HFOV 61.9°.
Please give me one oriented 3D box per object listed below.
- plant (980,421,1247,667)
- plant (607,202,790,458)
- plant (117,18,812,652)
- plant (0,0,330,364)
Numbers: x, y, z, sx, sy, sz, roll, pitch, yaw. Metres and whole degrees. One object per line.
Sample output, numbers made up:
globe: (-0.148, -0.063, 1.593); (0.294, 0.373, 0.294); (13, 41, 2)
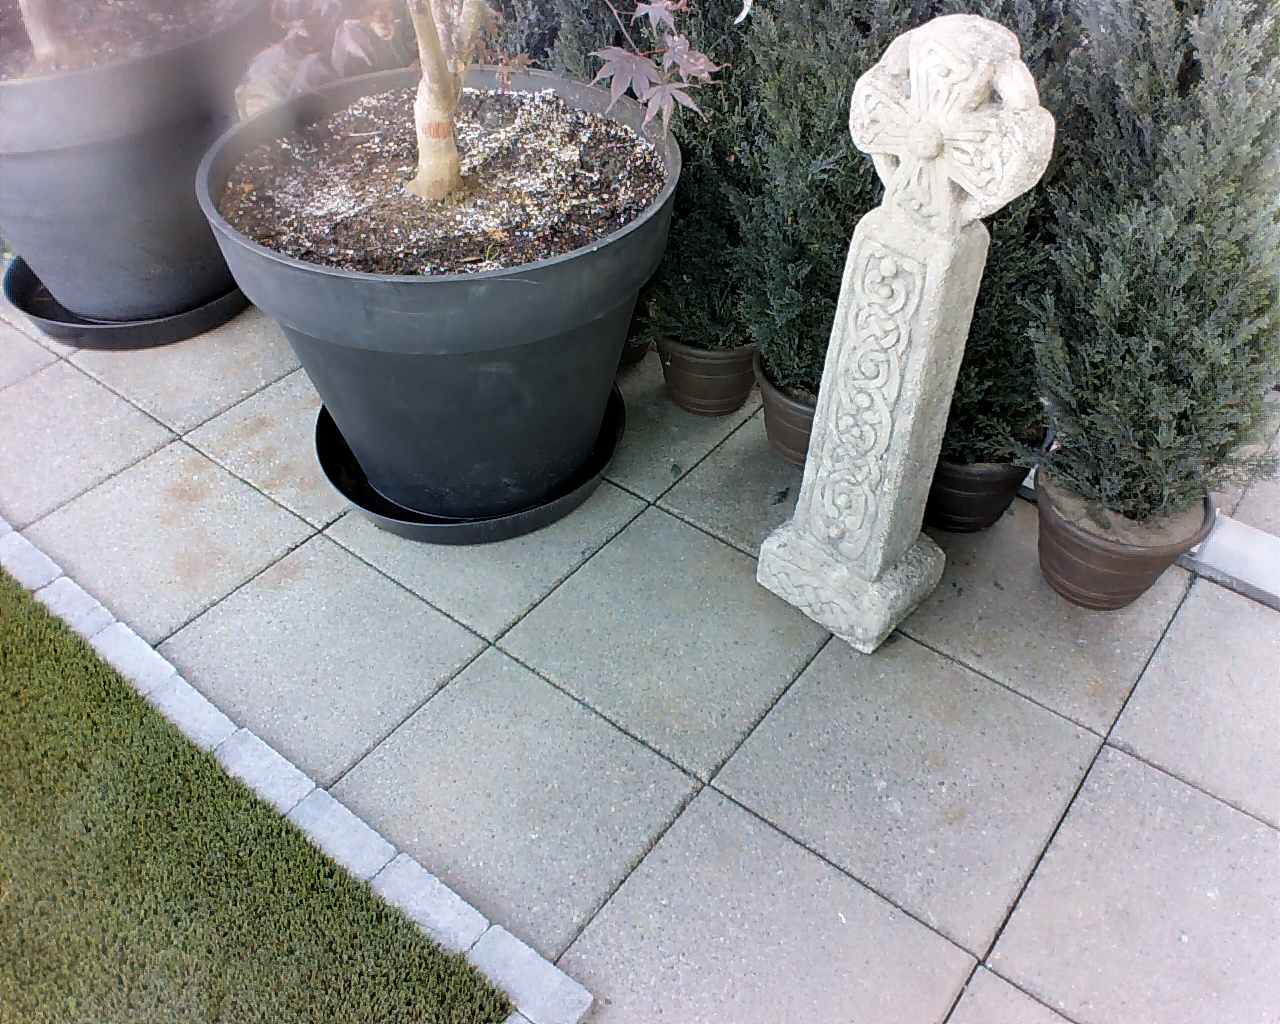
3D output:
plant: (0.830, 0.050, 1.900); (0.310, 0.230, 0.240); (34, 53, 31)
plant: (0.110, -0.380, 2.230); (0.200, 0.390, 0.310); (-31, 52, -29)
plant: (-0.310, -0.400, 2.020); (0.800, 0.630, 0.880); (-32, 52, -30)
plant: (-1.240, -0.910, 2.550); (0.770, 0.690, 0.880); (-4, 43, -5)
